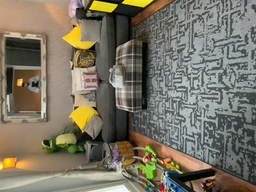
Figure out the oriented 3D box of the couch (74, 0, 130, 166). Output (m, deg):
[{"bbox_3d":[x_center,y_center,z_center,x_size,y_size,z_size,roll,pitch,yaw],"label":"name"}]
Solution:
[{"bbox_3d":[-0.540,-0.330,3.850,1.210,0.660,2.720,-170,80,-66],"label":"couch"}]
